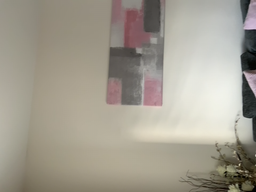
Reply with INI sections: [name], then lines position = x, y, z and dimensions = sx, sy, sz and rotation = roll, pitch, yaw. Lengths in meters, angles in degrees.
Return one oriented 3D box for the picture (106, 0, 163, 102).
[picture]
position = 0.070, -0.540, 1.960
dimensions = 0.070, 0.480, 1.180
rotation = 79, -168, -82
